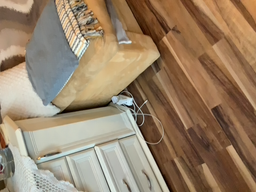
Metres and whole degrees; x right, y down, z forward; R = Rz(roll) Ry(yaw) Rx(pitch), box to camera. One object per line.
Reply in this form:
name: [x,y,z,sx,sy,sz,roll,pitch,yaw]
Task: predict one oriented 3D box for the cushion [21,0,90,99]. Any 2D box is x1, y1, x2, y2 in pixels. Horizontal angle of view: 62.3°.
cushion: [-0.410,-0.260,1.120,0.440,0.100,0.370,-43,65,39]
